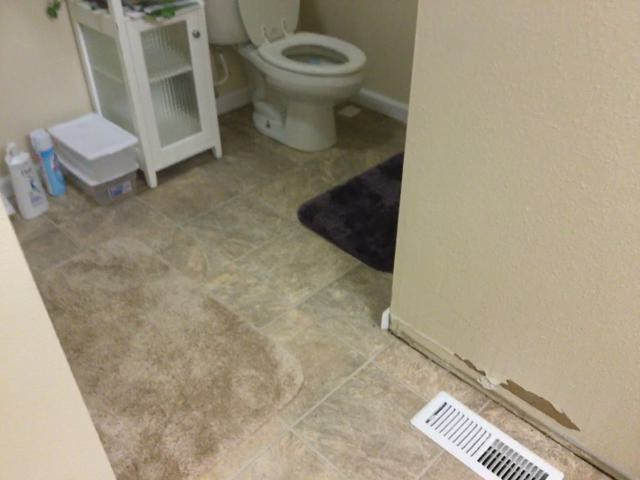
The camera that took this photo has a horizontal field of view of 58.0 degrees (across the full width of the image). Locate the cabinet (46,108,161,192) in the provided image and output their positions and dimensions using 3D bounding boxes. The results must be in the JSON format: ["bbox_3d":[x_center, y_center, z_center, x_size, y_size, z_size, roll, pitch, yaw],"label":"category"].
[{"bbox_3d":[-0.820,-0.350,2.190,0.360,0.130,0.250,31,46,34],"label":"cabinet"}]

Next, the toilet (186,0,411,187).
[{"bbox_3d":[-0.100,-0.810,2.400,0.740,0.830,0.530,31,46,34],"label":"toilet"}]

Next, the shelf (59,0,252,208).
[{"bbox_3d":[-0.600,-0.670,2.150,0.450,0.900,0.440,31,46,34],"label":"shelf"}]
